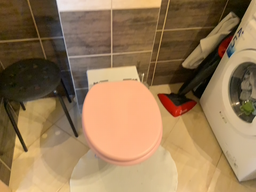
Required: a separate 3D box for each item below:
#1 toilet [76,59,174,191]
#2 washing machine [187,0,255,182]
[{"bbox_3d":[-0.060,0.150,1.150,0.360,0.390,0.570,-7,51,-10],"label":"toilet"},{"bbox_3d":[0.760,-0.030,1.150,0.440,0.840,0.630,-8,51,-11],"label":"washing machine"}]
